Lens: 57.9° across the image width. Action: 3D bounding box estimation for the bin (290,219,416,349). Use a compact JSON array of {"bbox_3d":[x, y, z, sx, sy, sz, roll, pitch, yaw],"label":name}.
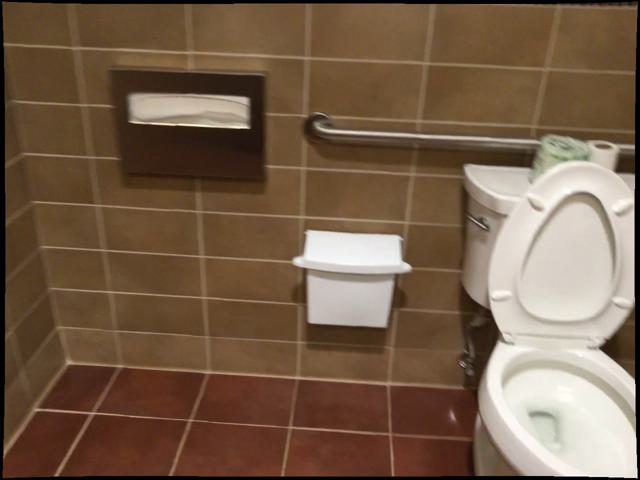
[{"bbox_3d":[0.090,0.130,1.710,0.340,0.330,0.150,3,28,3],"label":"bin"}]
